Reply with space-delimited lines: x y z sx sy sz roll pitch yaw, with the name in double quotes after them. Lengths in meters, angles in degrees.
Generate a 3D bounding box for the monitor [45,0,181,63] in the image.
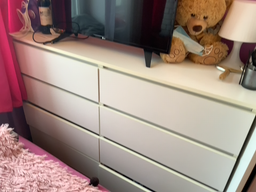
-0.120 -0.480 1.040 0.750 0.470 0.070 18 33 24 "monitor"
